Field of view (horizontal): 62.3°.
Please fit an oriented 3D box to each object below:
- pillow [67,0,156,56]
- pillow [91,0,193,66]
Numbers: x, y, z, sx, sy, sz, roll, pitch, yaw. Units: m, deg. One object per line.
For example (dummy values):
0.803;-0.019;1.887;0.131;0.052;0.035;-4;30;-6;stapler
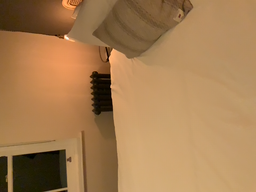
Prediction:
-0.140;-0.450;1.360;0.550;0.370;0.130;-21;90;61;pillow
0.030;-0.350;1.140;0.570;0.270;0.140;-22;90;62;pillow
